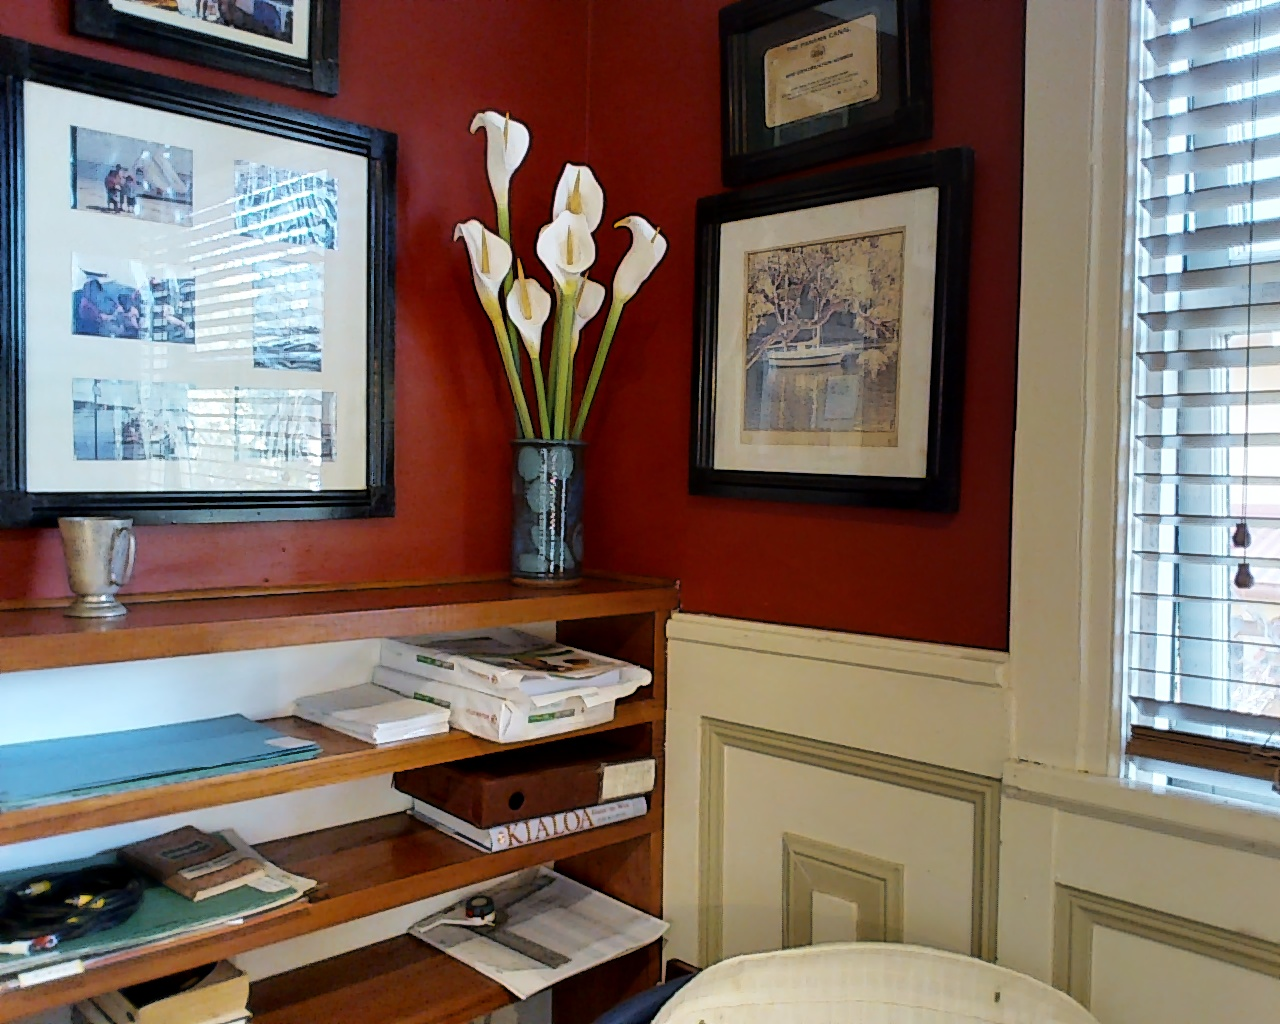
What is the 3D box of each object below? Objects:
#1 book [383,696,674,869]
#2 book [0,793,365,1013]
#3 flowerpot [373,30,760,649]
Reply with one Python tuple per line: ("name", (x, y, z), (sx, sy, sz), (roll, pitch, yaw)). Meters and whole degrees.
("book", (-0.170, 0.400, 1.660), (0.360, 0.150, 0.260), (0, 2, -41))
("book", (-0.580, 0.440, 1.270), (0.410, 0.080, 0.280), (0, 2, -43))
("flowerpot", (-0.110, -0.220, 1.630), (0.380, 0.770, 0.430), (2, 2, 45))
